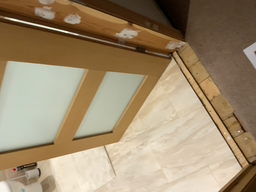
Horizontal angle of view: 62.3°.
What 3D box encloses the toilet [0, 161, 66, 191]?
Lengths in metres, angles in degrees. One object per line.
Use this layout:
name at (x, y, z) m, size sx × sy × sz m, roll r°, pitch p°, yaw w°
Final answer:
toilet at (-1.040, 1.000, 2.210) m, size 0.490 × 0.520 × 0.350 m, roll -43°, pitch 64°, yaw 34°
